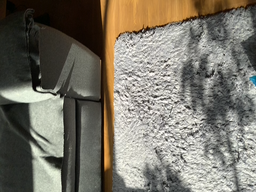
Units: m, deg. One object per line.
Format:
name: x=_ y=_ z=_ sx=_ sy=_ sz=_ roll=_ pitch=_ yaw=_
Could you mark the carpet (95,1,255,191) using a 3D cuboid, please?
carpet: x=0.410 y=0.470 z=0.950 sx=1.290 sy=0.050 sz=1.770 roll=-3 pitch=84 yaw=25
